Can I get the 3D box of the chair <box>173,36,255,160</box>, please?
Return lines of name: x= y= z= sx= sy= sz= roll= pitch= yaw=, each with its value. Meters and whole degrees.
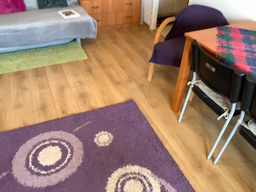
chair: x=0.690 y=0.020 z=1.580 sx=0.420 sy=0.760 sz=0.410 roll=-14 pitch=42 yaw=-19

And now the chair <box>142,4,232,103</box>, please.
chair: x=0.580 y=-0.470 z=2.220 sx=0.580 sy=0.710 sz=0.590 roll=28 pitch=45 yaw=27
